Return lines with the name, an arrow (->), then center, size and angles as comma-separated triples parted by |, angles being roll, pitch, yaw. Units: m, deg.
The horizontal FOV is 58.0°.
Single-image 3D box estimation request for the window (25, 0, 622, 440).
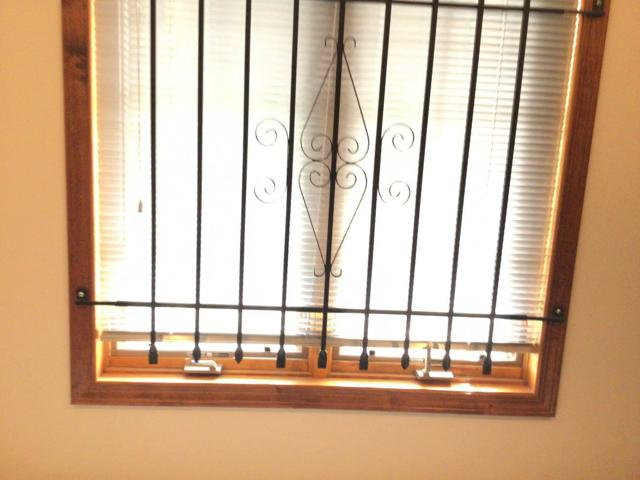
window -> 0.000, -0.180, 1.450 | 1.350, 1.350, 0.160 | 3, 10, -4
